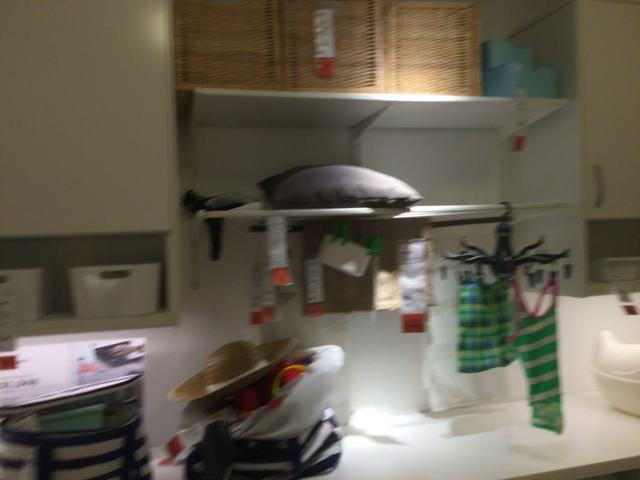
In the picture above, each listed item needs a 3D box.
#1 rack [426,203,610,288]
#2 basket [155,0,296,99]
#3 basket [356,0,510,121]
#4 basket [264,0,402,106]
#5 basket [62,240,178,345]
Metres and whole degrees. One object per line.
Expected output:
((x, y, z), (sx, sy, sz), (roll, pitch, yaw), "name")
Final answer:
((0.630, 0.020, 1.940), (0.330, 0.210, 0.530), (-7, 0, -13), "rack")
((-0.280, -0.600, 1.690), (0.370, 0.330, 0.090), (-7, 0, -13), "basket")
((0.360, -0.590, 1.840), (0.440, 0.370, 0.100), (-7, 0, -13), "basket")
((0.040, -0.600, 1.770), (0.380, 0.340, 0.070), (-7, 0, -13), "basket")
((-0.550, 0.140, 1.610), (0.270, 0.250, 0.080), (-7, 0, -13), "basket")
